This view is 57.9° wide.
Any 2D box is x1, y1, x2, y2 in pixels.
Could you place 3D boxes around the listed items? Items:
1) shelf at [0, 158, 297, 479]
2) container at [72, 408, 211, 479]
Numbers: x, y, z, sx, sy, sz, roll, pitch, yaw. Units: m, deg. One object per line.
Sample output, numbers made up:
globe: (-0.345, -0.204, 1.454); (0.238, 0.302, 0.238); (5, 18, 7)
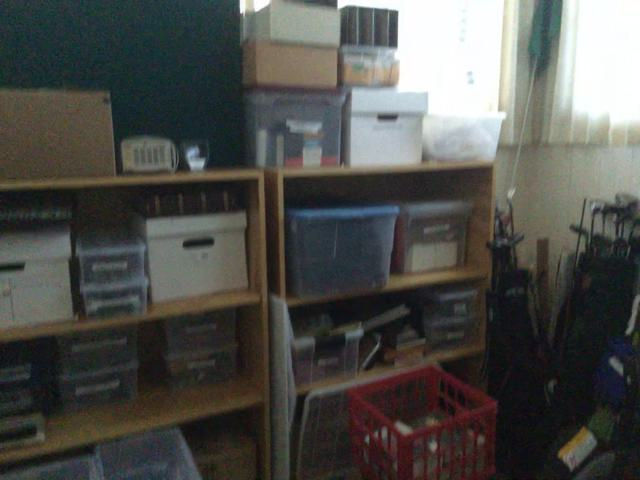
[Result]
shelf: (-0.660, 0.420, 1.850); (0.950, 1.300, 0.700); (-6, 11, -26)
container: (-0.540, 0.850, 1.750); (0.320, 0.440, 0.500); (-6, 11, -26)
